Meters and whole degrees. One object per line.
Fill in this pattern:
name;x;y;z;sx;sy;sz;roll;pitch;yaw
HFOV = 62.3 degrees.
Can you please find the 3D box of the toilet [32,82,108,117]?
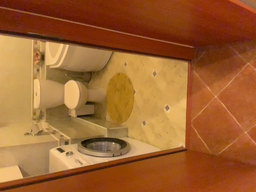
toilet;-0.760;0.020;2.740;0.650;0.750;0.380;6;95;54
